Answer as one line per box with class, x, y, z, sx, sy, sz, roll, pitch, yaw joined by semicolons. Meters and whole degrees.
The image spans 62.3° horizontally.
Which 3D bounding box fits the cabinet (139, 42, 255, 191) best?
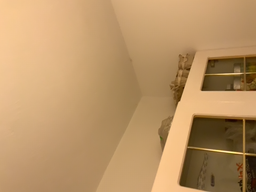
cabinet;0.470;0.140;0.740;0.800;0.590;0.320;-60;-40;-43
